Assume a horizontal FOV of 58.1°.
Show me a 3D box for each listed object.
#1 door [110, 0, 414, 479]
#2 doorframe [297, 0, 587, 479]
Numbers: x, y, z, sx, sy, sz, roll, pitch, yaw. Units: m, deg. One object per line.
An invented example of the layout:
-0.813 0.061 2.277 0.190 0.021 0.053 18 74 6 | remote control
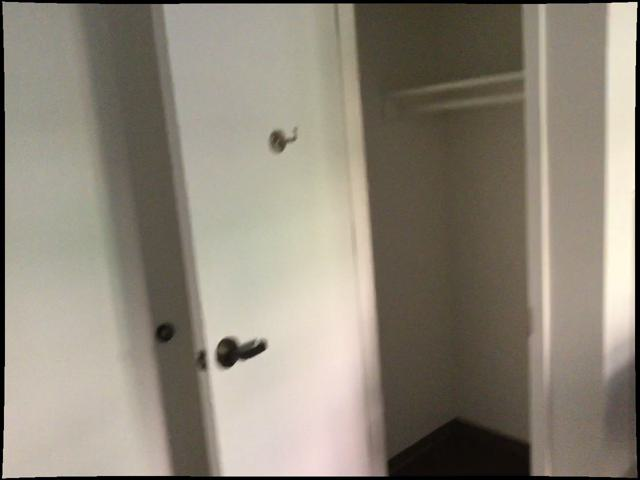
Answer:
-0.060 0.160 1.990 0.230 2.085 1.069 2 14 33 | door
0.409 0.080 2.030 0.260 2.125 0.939 -15 15 -38 | doorframe
